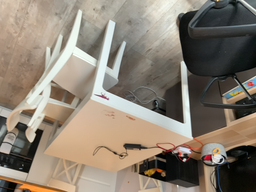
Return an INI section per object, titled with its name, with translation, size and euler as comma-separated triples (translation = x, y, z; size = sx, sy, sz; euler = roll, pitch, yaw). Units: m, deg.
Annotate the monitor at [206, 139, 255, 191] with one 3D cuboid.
[monitor]
translation = 0.860, 0.600, 1.690
size = 0.030, 0.410, 0.500
euler = 26, 141, -25
